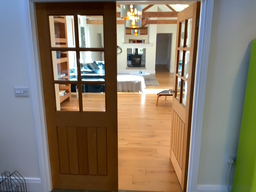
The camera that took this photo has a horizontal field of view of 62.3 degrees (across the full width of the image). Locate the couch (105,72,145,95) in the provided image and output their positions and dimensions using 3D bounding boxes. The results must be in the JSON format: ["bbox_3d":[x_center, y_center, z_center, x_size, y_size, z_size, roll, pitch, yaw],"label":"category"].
[{"bbox_3d":[-0.070,-0.490,7.630,1.280,0.530,1.420,1,14,2],"label":"couch"}]
